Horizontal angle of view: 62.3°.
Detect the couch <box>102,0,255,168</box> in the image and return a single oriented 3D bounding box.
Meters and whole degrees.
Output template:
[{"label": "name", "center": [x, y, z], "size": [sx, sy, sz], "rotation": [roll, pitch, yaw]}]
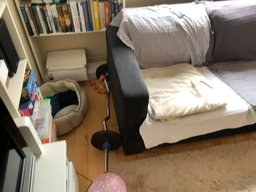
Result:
[{"label": "couch", "center": [1.010, -0.210, 1.690], "size": [2.300, 0.770, 0.930], "rotation": [-6, 45, -7]}]
